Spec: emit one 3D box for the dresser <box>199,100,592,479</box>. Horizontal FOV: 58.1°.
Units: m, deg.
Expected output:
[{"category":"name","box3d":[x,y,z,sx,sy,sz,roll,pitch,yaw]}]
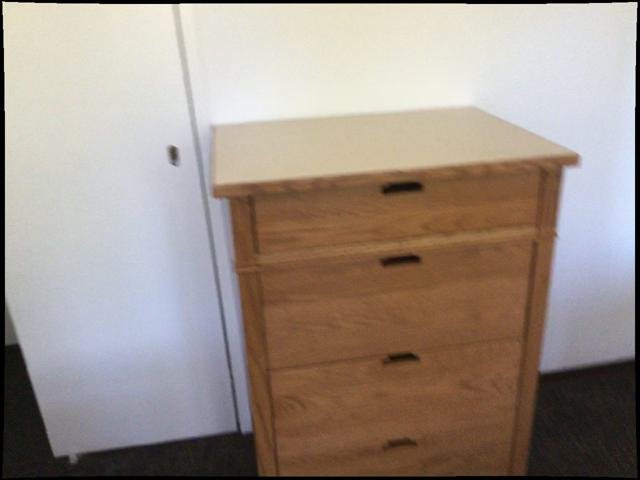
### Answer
[{"category":"dresser","box3d":[0.150,0.241,1.640,0.818,1.082,0.590,-8,25,-8]}]
